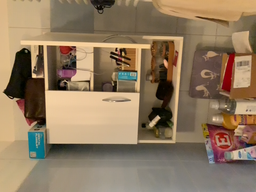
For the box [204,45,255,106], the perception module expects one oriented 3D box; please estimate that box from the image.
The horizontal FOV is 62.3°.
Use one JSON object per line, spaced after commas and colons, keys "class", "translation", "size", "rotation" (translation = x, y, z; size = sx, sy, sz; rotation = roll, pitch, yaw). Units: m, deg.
{"class": "box", "translation": [0.610, -0.120, 1.220], "size": [0.360, 0.180, 0.290], "rotation": [-116, 28, -82]}
